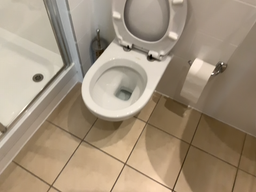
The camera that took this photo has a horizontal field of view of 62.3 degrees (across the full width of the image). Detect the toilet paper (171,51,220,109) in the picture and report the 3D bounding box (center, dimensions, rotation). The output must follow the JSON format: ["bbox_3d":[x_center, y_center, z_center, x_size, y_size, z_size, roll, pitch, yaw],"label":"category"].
[{"bbox_3d":[0.370,-0.080,1.200,0.150,0.300,0.120,26,60,12],"label":"toilet paper"}]

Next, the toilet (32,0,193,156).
[{"bbox_3d":[-0.030,-0.130,1.100,0.380,0.840,0.520,26,60,12],"label":"toilet"}]
